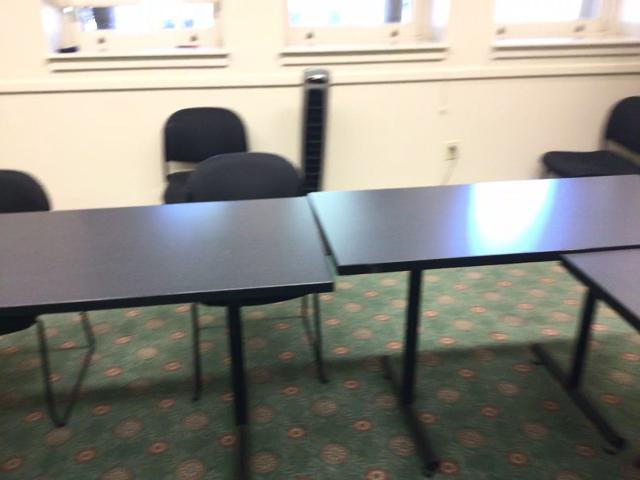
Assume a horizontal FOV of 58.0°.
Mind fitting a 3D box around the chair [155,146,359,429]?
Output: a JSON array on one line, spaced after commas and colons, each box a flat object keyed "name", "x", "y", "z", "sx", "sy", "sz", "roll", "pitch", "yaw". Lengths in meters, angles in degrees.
[{"name": "chair", "x": -0.230, "y": 0.130, "z": 2.120, "sx": 0.590, "sy": 0.780, "sz": 0.640, "roll": -4, "pitch": 23, "yaw": -9}]
